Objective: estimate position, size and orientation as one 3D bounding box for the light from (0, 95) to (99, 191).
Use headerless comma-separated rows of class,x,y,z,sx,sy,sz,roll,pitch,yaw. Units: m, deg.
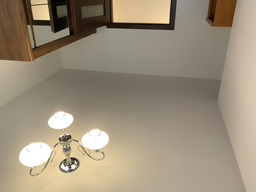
light,-0.530,0.330,1.440,0.470,0.490,0.270,35,-63,-6
